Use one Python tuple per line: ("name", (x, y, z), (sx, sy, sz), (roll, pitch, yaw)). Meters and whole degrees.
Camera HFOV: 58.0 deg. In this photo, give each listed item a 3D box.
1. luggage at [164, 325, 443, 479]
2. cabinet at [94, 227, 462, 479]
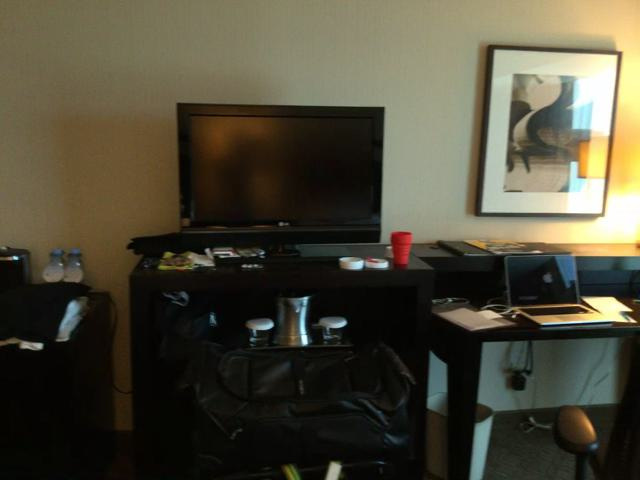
("luggage", (-0.070, 0.550, 1.850), (0.760, 0.380, 0.520), (-1, 10, -8))
("cabinet", (-0.160, 0.510, 2.310), (1.220, 1.030, 0.620), (-1, 10, -8))
